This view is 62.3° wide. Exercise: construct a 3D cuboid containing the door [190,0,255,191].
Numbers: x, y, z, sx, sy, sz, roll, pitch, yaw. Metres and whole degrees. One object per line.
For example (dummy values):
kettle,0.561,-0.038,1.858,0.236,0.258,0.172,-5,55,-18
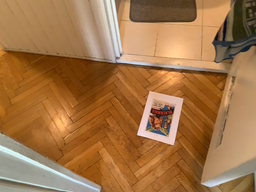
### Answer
door,0.440,-0.330,0.280,0.100,2.230,0.820,16,65,12
